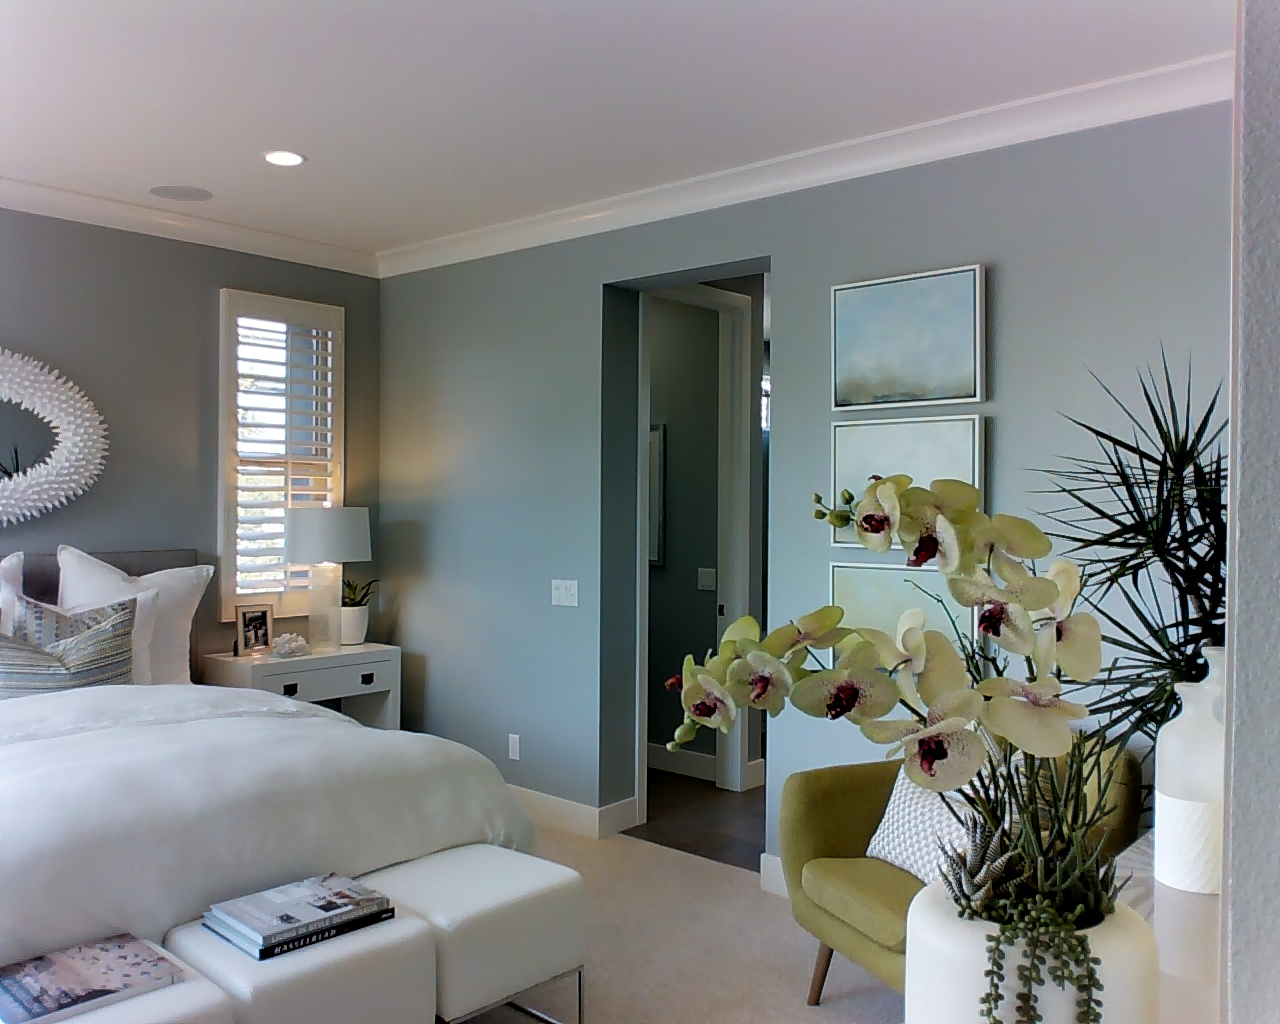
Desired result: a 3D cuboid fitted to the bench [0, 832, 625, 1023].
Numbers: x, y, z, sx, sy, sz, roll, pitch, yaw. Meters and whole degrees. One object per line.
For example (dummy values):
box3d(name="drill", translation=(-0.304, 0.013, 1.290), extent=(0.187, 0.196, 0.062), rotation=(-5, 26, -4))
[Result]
box3d(name="bench", translation=(-0.750, 1.211, 2.540), extent=(0.500, 0.460, 1.520), rotation=(0, 1, 44))
